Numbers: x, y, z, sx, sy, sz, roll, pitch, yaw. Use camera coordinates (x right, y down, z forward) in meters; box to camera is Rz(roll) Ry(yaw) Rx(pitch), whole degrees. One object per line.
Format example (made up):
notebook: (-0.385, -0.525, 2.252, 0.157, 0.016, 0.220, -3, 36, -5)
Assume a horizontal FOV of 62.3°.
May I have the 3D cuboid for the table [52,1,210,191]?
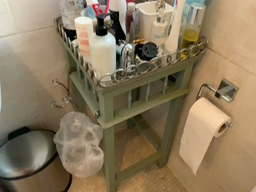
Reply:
table: (-0.020, 0.060, 0.930, 0.370, 0.760, 0.360, -21, 48, -24)
